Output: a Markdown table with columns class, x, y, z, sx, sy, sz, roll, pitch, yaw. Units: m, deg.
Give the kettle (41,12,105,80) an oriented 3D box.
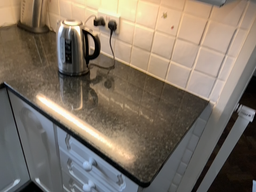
| class | x | y | z | sx | sy | sz | roll | pitch | yaw |
| --- | --- | --- | --- | --- | --- | --- | --- | --- | --- |
| kettle | -0.250 | -0.240 | 0.990 | 0.190 | 0.220 | 0.190 | 27 | 40 | 23 |
